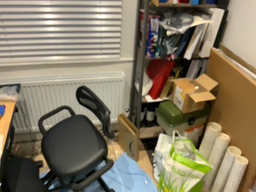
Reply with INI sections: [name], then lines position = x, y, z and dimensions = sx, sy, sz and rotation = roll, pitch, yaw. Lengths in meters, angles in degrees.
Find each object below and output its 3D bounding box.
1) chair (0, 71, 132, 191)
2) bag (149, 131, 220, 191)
[chair]
position = -0.470, 0.390, 1.380
dimensions = 0.650, 0.760, 0.690
rotation = -23, 42, -35
[bag]
position = 0.390, 0.560, 1.600
dimensions = 0.300, 0.400, 0.380
rotation = -7, 35, -16
